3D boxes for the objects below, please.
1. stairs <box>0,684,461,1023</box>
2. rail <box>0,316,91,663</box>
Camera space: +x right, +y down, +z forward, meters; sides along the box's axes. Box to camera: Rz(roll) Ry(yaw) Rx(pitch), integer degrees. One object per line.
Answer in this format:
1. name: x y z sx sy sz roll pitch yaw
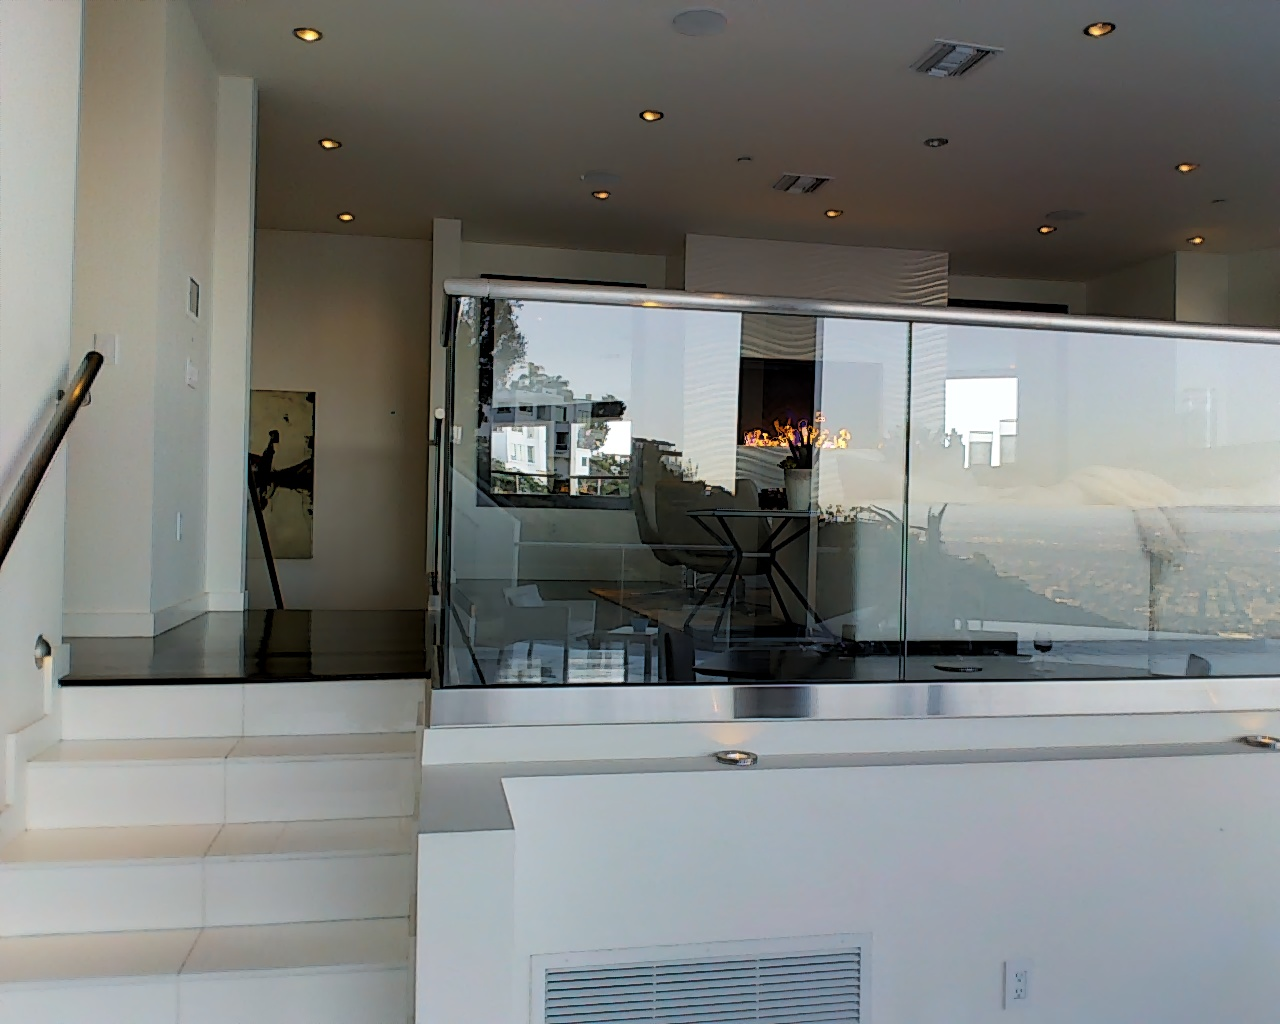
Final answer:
1. stairs: -1.000 1.010 2.430 1.120 1.030 1.350 1 -1 -11
2. rail: -1.580 -0.050 2.620 0.150 0.800 0.980 1 -1 -11
